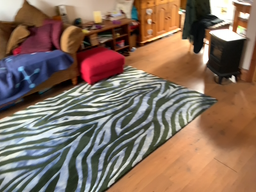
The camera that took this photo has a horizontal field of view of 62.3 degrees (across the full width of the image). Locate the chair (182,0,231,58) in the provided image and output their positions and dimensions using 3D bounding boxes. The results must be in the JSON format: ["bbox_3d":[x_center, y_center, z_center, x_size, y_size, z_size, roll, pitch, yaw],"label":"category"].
[{"bbox_3d":[1.170,-1.120,3.250,0.400,0.890,0.490,-18,35,-19],"label":"chair"}]
